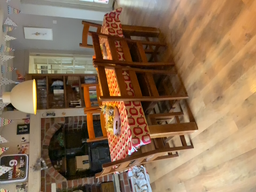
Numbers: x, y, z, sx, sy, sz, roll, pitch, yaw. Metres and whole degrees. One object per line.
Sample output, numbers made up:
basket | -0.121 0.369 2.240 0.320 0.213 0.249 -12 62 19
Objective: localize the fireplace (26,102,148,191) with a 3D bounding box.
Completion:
fireplace | -0.800 1.200 3.930 0.780 1.870 2.020 118 145 -54

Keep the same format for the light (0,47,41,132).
light | -1.470 -0.010 2.340 0.530 0.800 0.530 45 -157 -50
